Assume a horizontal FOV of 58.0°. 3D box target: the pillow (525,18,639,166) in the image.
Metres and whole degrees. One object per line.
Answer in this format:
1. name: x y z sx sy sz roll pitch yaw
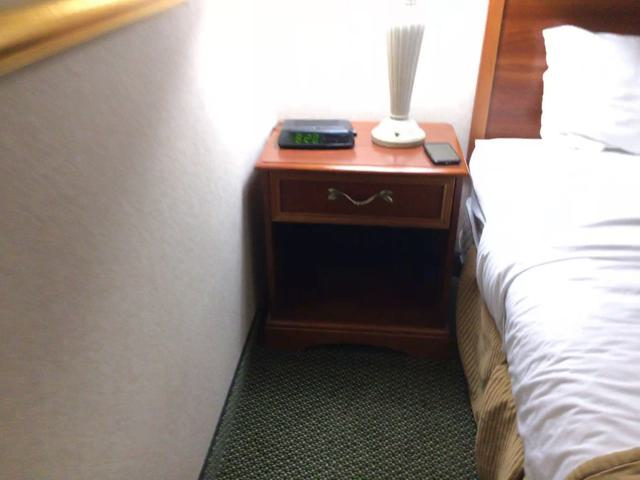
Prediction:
1. pillow: 0.850 -0.400 1.580 0.480 0.340 0.190 0 49 8

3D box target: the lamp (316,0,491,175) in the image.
1. lamp: 0.210 -0.620 1.490 0.390 0.790 0.420 0 28 8
